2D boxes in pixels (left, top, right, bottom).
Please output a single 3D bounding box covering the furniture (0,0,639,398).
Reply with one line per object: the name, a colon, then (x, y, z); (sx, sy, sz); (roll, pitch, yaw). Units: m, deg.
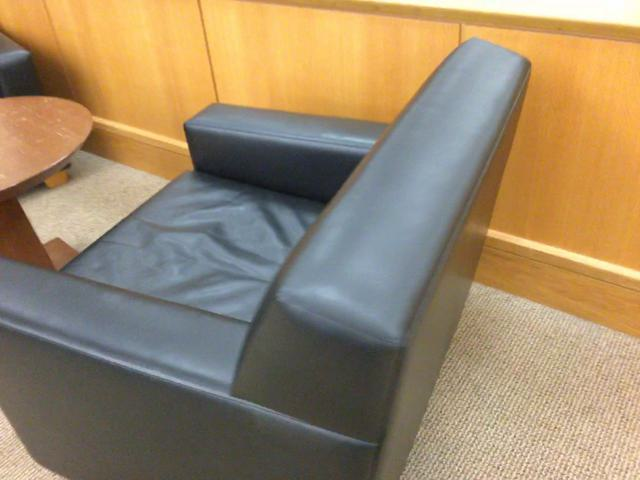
furniture: (-0.330, -0.670, 2.260); (3.660, 0.900, 0.860); (20, 42, 29)
